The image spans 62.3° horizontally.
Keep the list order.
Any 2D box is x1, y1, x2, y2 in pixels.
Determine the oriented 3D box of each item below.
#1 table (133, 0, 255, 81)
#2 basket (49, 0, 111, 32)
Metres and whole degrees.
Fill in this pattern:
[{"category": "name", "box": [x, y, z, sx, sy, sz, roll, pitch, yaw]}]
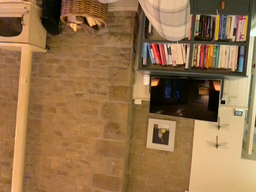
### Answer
[{"category": "table", "box": [0.800, -0.760, 2.680, 1.300, 1.020, 0.630, 6, -177, 11]}, {"category": "basket", "box": [-0.570, -1.150, 2.680, 0.580, 0.490, 0.580, 5, -177, 7]}]
